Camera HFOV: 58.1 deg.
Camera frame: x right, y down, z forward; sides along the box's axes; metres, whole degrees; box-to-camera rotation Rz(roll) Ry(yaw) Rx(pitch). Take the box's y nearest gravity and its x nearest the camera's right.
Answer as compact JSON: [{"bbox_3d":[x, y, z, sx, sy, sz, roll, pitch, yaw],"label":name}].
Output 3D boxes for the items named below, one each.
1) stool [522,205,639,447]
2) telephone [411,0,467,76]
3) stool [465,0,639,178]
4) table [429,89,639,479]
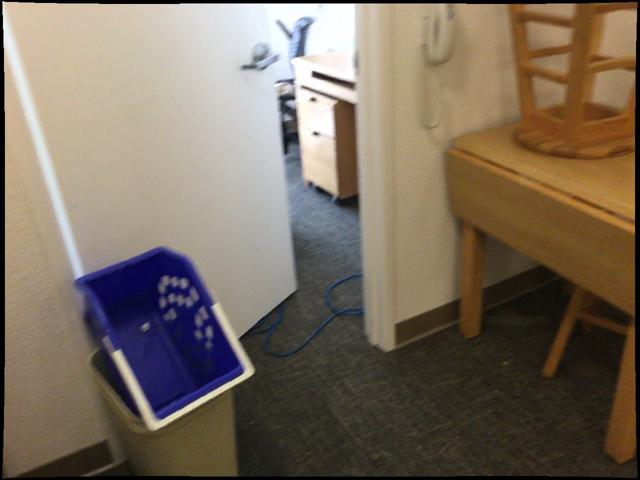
[{"bbox_3d":[0.977,0.241,1.800,0.459,0.471,0.420,-19,32,-22],"label":"stool"},{"bbox_3d":[0.339,-0.612,1.650,0.120,0.240,0.100,-19,32,-22],"label":"telephone"},{"bbox_3d":[0.738,-0.531,1.670,0.389,0.491,0.470,-19,32,-22],"label":"stool"},{"bbox_3d":[0.908,0.060,1.830,0.749,0.771,0.840,-19,32,-22],"label":"table"}]
